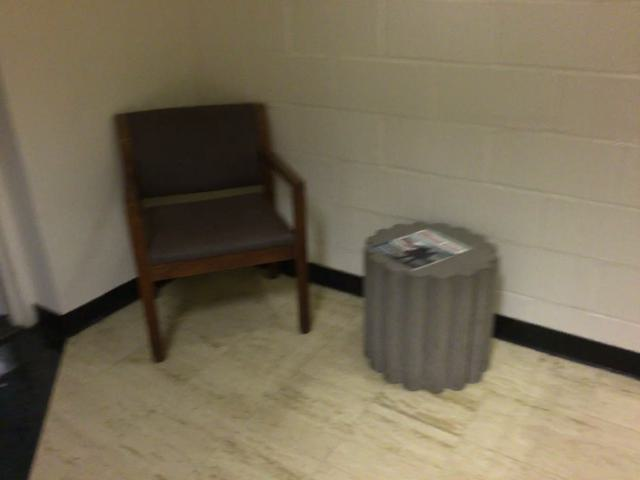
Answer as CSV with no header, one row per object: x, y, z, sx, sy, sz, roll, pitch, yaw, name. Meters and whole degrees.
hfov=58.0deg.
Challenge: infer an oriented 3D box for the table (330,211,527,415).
0.380,0.220,2.060,0.520,0.460,0.450,14,26,32,table
